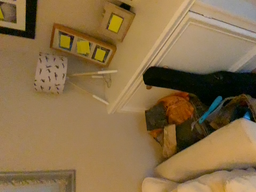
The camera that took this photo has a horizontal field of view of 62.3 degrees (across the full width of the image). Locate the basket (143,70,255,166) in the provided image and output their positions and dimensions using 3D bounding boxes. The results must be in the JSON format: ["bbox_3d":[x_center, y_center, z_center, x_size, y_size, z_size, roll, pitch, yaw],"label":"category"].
[{"bbox_3d":[0.590,0.230,1.710,0.700,0.630,0.470,129,140,-51],"label":"basket"}]
